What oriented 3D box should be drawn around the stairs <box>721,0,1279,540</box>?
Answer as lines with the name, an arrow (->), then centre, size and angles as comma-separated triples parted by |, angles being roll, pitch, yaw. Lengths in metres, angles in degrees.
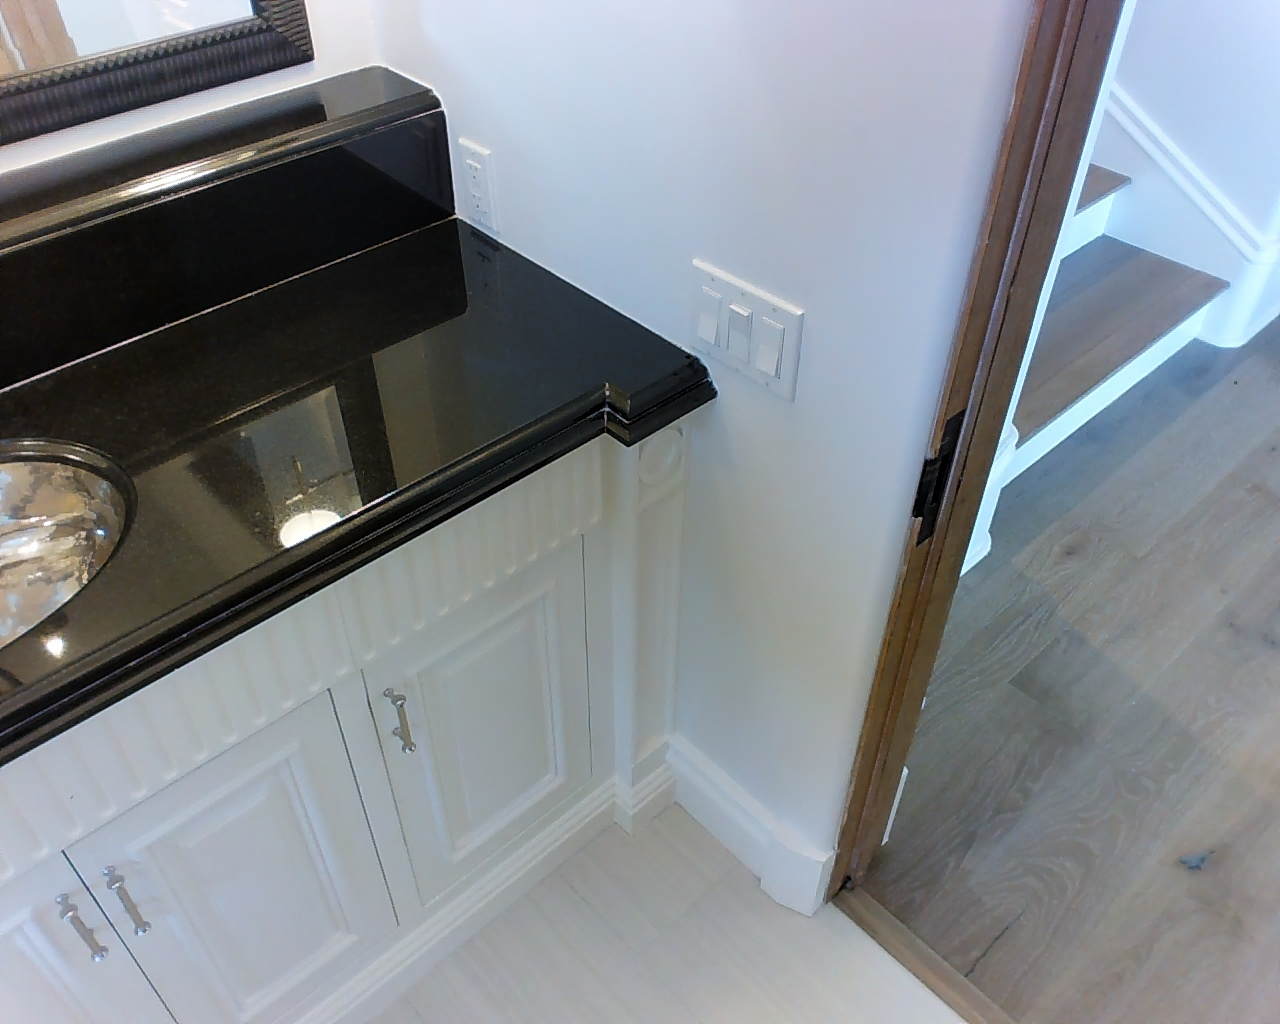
stairs -> 0.940, -0.690, 2.670 | 1.190, 0.710, 0.860 | -33, 52, -30
